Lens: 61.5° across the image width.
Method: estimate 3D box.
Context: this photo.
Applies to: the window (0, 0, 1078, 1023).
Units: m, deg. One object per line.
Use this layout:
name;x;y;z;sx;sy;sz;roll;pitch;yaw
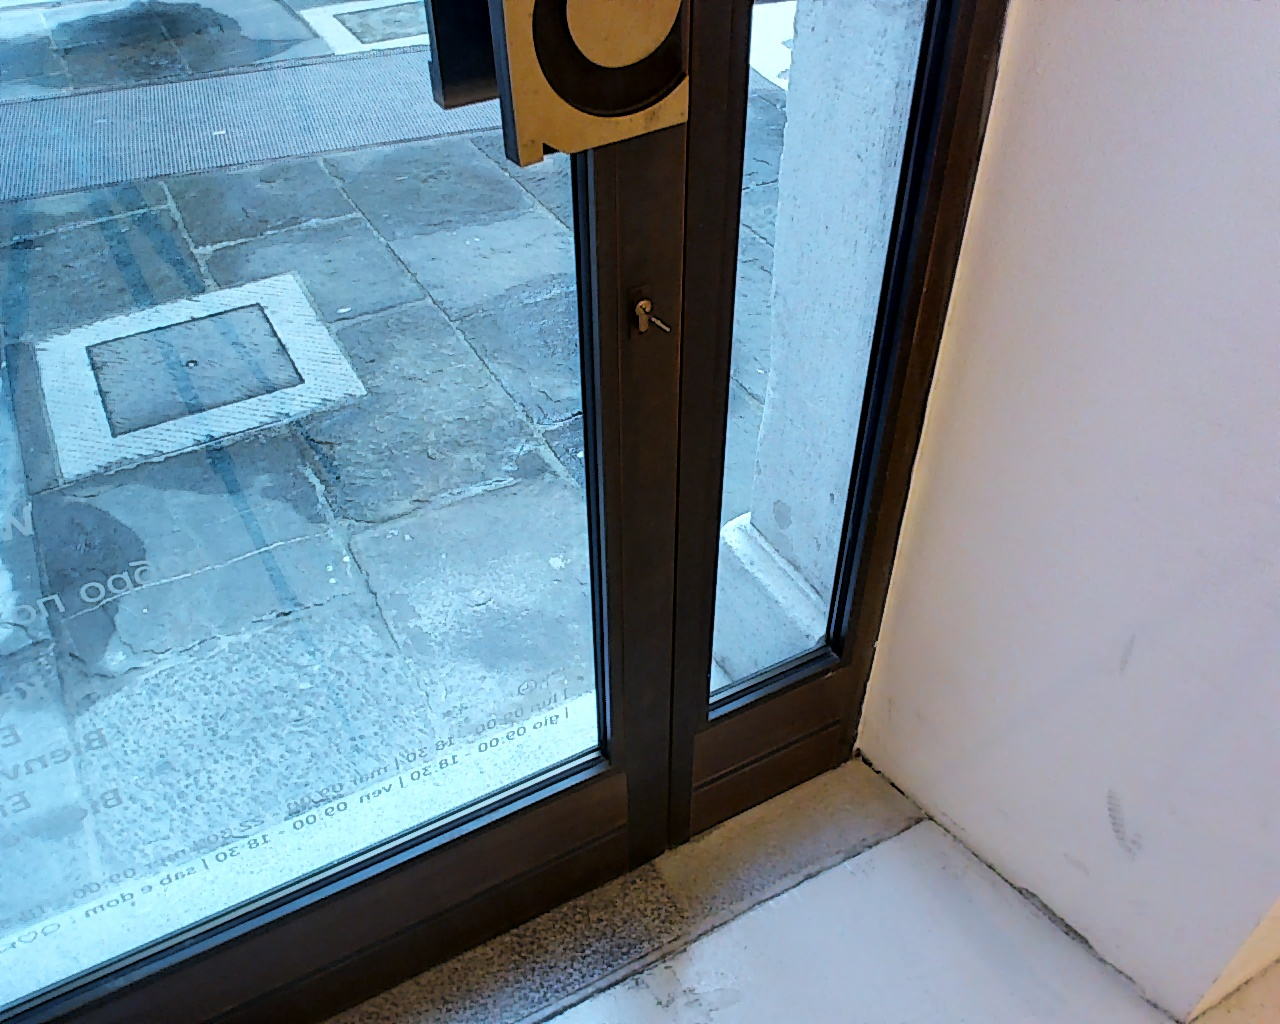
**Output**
window;-0.370;-0.620;0.340;1.670;3.251;0.090;-19;45;-21
